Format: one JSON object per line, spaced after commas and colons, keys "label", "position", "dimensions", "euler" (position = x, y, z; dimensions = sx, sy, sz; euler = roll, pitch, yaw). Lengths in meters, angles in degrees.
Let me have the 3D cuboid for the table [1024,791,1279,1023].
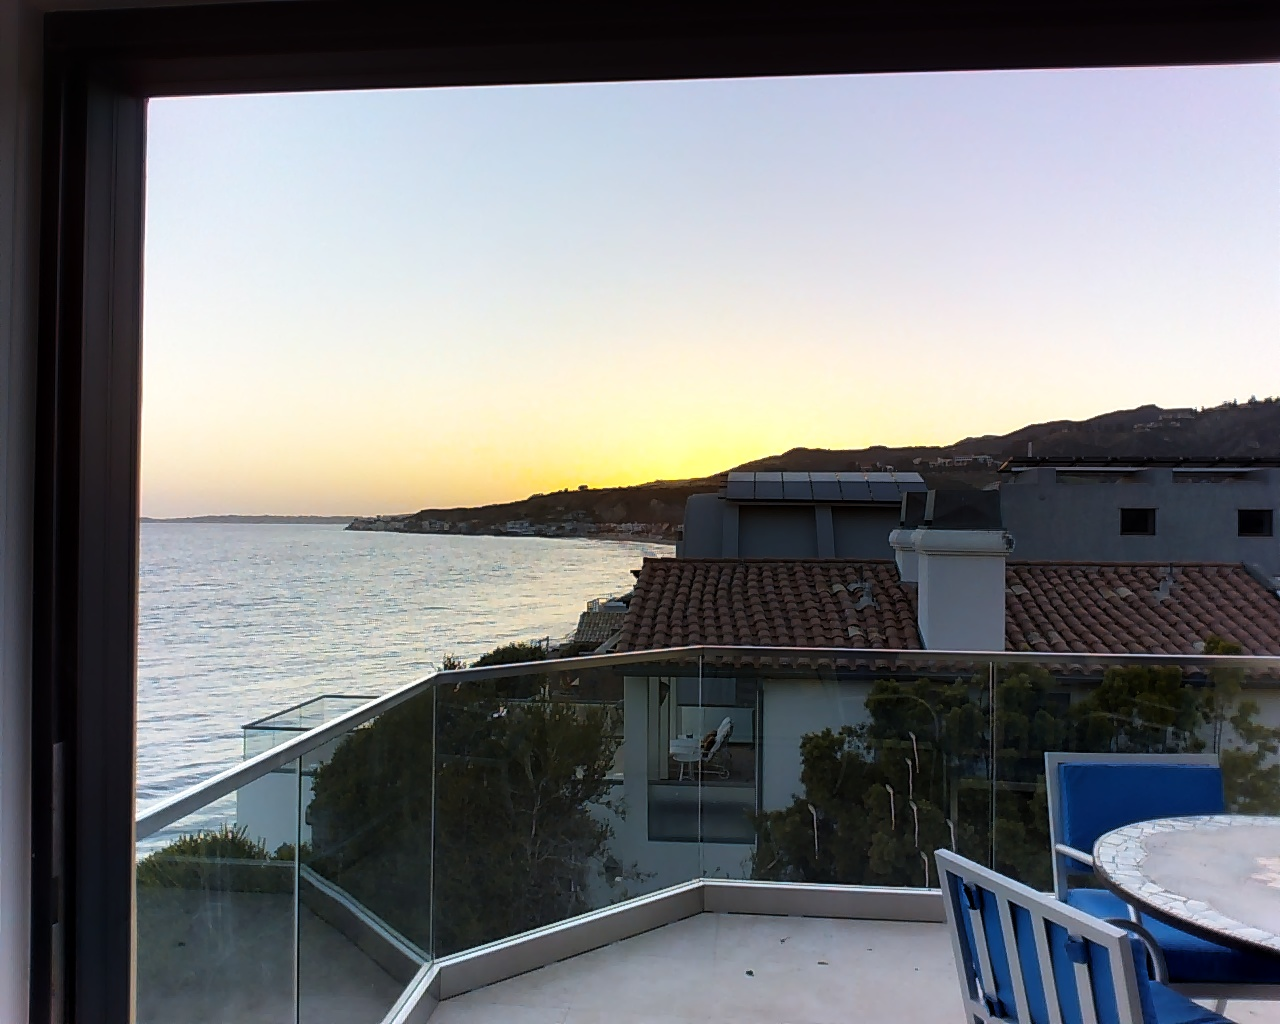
{"label": "table", "position": [1.689, 1.221, 2.500], "dimensions": [1.219, 0.800, 1.270], "euler": [0, -1, 5]}
